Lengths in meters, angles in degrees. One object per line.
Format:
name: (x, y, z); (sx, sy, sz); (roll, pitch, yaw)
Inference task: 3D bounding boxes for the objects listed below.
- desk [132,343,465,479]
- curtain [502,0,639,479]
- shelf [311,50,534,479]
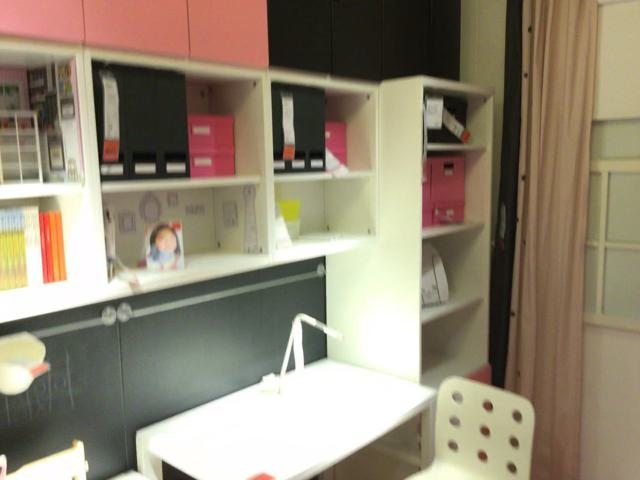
desk: (-0.030, 0.910, 2.130); (1.050, 0.770, 0.640); (-5, 5, -44)
curtain: (1.320, 0.170, 2.210); (0.300, 2.160, 1.160); (-5, 5, -44)
shelf: (0.480, 0.270, 2.570); (0.770, 1.940, 0.600); (-5, 5, -44)
